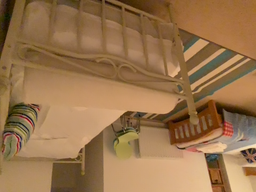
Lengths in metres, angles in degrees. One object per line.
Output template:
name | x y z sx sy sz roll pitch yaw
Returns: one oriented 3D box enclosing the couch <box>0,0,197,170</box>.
couch | -0.650 0.100 2.000 1.070 0.820 2.290 10 151 -26
